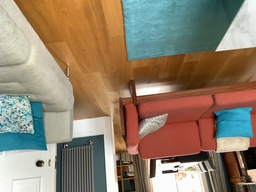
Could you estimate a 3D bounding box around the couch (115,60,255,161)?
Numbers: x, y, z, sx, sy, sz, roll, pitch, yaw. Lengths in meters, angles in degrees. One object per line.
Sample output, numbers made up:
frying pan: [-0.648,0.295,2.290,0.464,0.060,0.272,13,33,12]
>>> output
couch: [0.740,0.210,2.410,1.650,0.770,0.830,-6,158,-1]
